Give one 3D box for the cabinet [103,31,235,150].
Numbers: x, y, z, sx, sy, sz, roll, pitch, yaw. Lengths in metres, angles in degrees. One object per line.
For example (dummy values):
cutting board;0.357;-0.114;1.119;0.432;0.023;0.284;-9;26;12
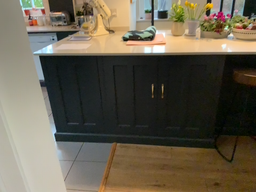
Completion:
cabinet;0.330;-0.070;1.970;0.950;0.940;0.490;2;26;9
